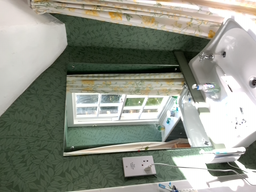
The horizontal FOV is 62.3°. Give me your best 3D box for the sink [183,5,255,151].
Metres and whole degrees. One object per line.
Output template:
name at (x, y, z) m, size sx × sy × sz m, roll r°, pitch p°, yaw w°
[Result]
sink at (0.630, -0.110, 1.190) m, size 0.450 × 0.290 × 0.670 m, roll 106°, pitch 159°, yaw -50°
